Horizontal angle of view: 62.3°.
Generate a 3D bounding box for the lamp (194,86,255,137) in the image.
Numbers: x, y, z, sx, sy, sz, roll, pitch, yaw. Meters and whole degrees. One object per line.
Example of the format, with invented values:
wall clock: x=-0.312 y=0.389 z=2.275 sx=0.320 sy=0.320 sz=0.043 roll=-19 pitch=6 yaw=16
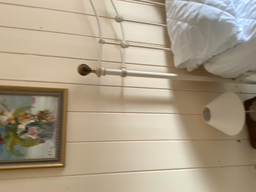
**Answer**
lamp: x=0.600 y=0.100 z=1.220 sx=0.230 sy=0.310 sz=0.230 roll=131 pitch=138 yaw=-65
